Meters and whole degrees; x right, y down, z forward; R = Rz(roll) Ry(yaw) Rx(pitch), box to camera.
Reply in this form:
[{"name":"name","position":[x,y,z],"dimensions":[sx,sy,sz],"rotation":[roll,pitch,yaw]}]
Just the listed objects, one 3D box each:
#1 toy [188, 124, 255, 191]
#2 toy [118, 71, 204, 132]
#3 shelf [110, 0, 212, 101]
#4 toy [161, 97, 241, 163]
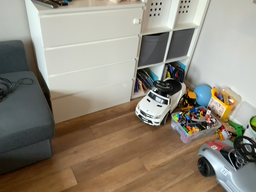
[{"name":"toy","position":[0.840,0.590,1.560],"dimensions":[0.390,0.310,0.660],"rotation":[-12,42,-23]},{"name":"toy","position":[0.320,0.030,2.200],"dimensions":[0.710,0.310,0.440],"rotation":[-11,41,-22]},{"name":"shelf","position":[0.310,-0.760,2.170],"dimensions":[0.770,1.460,0.510],"rotation":[-16,43,-27]},{"name":"toy","position":[0.650,0.290,1.960],"dimensions":[0.500,0.280,0.420],"rotation":[-11,42,-22]}]
